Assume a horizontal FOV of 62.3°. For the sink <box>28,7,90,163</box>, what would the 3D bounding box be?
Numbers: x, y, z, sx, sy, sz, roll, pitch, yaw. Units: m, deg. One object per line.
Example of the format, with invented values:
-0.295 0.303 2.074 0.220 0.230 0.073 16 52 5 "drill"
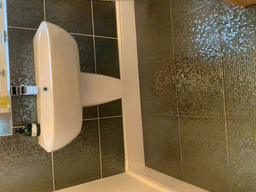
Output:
-0.390 -0.040 1.130 0.450 0.170 0.660 -7 87 58 "sink"
